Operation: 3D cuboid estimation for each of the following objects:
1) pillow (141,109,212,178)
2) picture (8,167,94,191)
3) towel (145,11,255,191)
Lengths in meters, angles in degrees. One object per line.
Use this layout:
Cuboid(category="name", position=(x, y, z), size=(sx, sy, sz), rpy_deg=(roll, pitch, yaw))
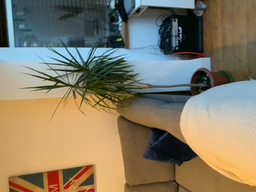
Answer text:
Cuboid(category="pillow", position=(0.360, 0.420, 1.770), size=(0.270, 0.360, 0.590), rpy_deg=(60, 162, 26))
Cuboid(category="picture", position=(-0.730, 1.070, 2.120), size=(0.040, 0.780, 0.600), rpy_deg=(-170, 77, -72))
Cuboid(category="towel", position=(0.720, 0.100, 0.970), size=(0.890, 0.990, 0.720), rpy_deg=(-169, 76, -72))
